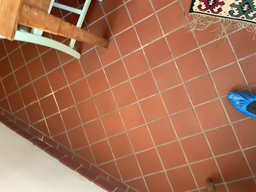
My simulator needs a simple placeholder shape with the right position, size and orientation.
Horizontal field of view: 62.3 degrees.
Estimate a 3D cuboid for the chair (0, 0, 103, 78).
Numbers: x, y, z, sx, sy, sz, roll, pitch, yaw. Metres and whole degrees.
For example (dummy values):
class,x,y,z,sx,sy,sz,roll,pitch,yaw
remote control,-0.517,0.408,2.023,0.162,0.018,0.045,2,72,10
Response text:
class,x,y,z,sx,sy,sz,roll,pitch,yaw
chair,-0.590,-0.400,1.130,0.440,0.850,0.460,25,102,17
